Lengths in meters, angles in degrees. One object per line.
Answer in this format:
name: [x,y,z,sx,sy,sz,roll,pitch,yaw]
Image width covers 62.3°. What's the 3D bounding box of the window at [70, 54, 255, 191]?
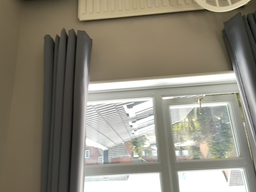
window: [0.260,0.430,1.300,1.140,1.280,0.310,-4,163,1]
